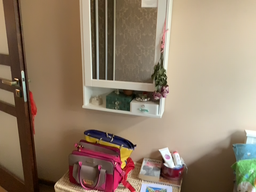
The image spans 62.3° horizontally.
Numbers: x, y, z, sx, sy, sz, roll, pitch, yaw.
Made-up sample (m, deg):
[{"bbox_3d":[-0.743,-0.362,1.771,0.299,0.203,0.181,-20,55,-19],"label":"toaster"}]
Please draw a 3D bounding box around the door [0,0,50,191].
[{"bbox_3d":[-1.020,-0.120,1.770,0.880,1.830,0.190,16,21,40],"label":"door"}]

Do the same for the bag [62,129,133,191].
[{"bbox_3d":[-0.210,0.460,1.580,0.420,0.260,0.340,5,16,11],"label":"bag"}]
